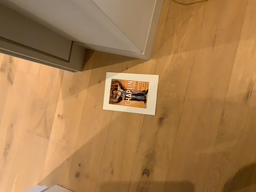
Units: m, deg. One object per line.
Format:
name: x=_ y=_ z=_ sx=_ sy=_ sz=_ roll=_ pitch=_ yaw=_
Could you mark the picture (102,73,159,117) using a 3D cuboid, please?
picture: x=0.010 y=-0.010 z=1.140 sx=0.300 sy=0.001 sz=0.210 roll=5 pitch=89 yaw=17
